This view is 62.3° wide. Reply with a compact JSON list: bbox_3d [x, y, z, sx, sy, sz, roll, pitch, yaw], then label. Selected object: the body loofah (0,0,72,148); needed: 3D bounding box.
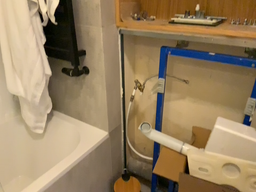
[{"bbox_3d":[-0.580,-0.440,1.040,0.400,1.450,0.200,18,32,31],"label":"body loofah"}]
